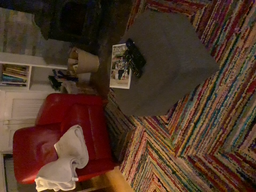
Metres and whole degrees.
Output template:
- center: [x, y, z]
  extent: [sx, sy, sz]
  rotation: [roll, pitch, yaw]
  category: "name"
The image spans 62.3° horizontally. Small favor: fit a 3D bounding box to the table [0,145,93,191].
- center: [-1.060, 1.040, 2.620]
  extent: [0.840, 0.960, 0.270]
  rotation: [44, 124, 47]
  category: "table"
